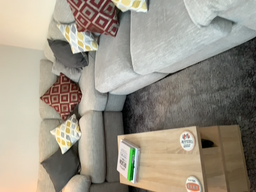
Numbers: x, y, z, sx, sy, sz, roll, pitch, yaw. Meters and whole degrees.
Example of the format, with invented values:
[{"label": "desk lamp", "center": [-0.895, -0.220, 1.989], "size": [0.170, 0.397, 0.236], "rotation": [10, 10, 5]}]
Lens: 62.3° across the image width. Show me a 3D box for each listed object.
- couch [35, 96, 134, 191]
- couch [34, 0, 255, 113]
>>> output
[{"label": "couch", "center": [-0.630, 0.720, 2.690], "size": [1.090, 0.870, 1.200], "rotation": [-23, 69, 56]}, {"label": "couch", "center": [-0.240, -0.570, 2.120], "size": [3.000, 0.880, 1.030], "rotation": [-23, 69, 56]}]
